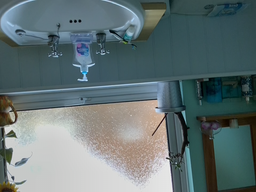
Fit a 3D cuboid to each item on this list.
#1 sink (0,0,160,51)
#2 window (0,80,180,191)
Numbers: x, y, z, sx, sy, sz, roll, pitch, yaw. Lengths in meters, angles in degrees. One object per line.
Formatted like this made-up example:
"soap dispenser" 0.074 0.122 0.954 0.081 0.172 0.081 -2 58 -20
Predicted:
"sink" -0.230 -0.360 0.830 0.590 0.200 0.550 -5 178 -8
"window" -0.200 0.440 1.320 0.990 0.990 0.200 -5 178 -9
